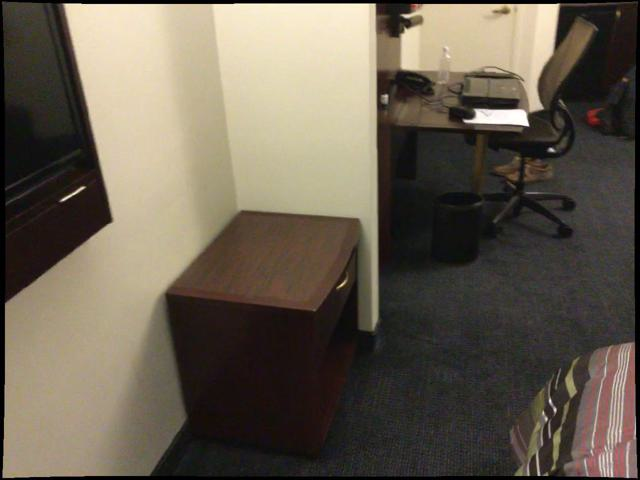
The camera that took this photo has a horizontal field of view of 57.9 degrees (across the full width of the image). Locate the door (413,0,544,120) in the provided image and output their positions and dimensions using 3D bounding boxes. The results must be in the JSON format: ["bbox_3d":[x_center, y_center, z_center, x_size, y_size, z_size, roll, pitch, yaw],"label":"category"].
[{"bbox_3d":[1.249,-1.942,4.500,0.939,1.982,0.140,6,30,14],"label":"door"}]
